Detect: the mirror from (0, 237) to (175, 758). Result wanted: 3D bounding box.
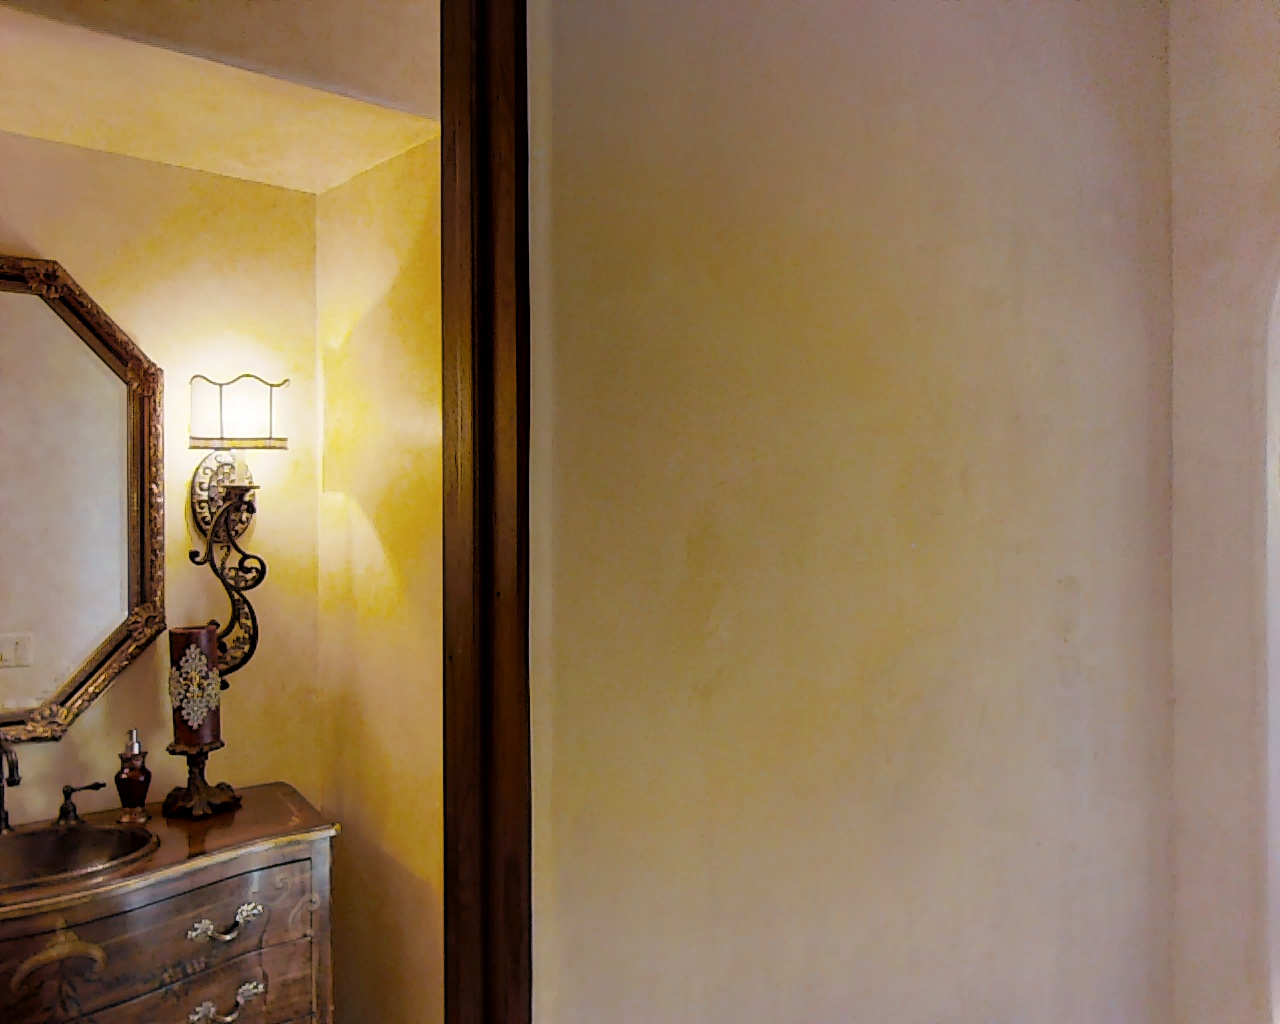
[{"bbox_3d":[-1.370,-0.030,2.230,0.750,1.080,0.070,0,0,-41],"label":"mirror"}]
